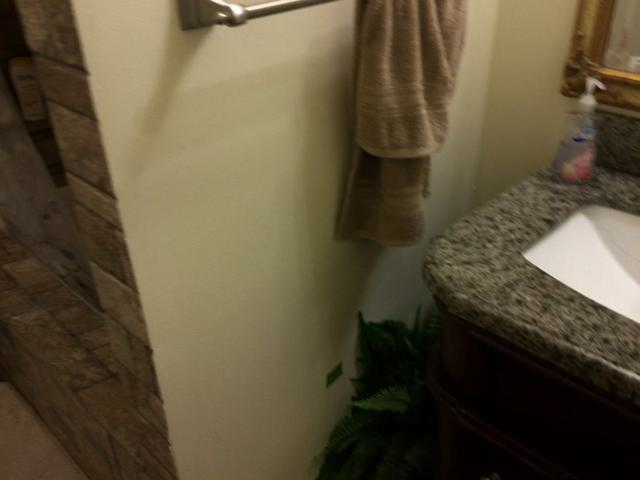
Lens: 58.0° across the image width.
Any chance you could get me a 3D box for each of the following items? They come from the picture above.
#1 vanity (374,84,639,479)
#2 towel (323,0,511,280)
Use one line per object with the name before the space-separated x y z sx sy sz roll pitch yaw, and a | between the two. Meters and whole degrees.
vanity | 0.560 0.370 1.000 0.710 1.020 0.590 26 41 37
towel | 0.160 -0.210 0.970 0.140 0.460 0.290 26 41 37
